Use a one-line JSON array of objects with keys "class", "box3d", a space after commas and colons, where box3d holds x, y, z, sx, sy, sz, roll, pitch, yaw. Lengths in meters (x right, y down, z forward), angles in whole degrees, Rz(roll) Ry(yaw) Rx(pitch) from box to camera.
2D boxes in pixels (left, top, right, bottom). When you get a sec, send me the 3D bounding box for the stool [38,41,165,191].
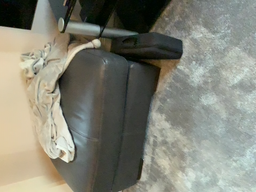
[{"class": "stool", "box3d": [-0.220, 0.140, 1.340, 0.600, 0.460, 0.850, 23, 110, 47]}]
